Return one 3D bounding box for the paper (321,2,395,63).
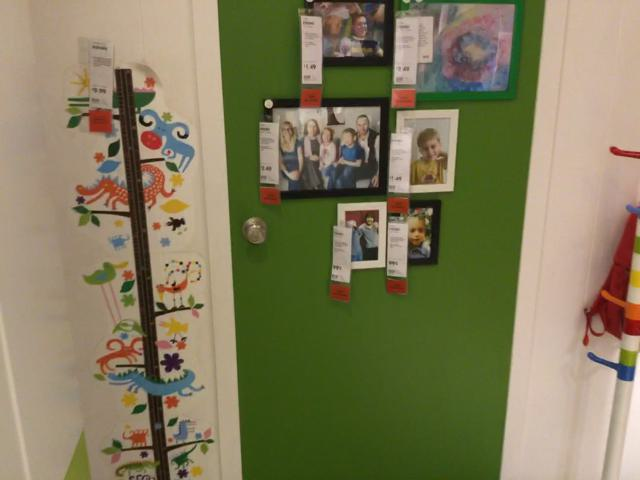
[{"bbox_3d":[0.090,-0.490,1.370,0.170,0.130,0.020,-1,16,-8],"label":"paper"}]

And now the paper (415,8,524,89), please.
[{"bbox_3d":[0.360,-0.460,1.400,0.250,0.180,0.030,-1,16,-8],"label":"paper"}]

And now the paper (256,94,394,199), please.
[{"bbox_3d":[0.010,-0.230,1.430,0.330,0.250,0.040,-1,16,-8],"label":"paper"}]

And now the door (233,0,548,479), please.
[{"bbox_3d":[0.160,0.100,1.540,0.740,1.670,0.060,-1,16,-8],"label":"door"}]
